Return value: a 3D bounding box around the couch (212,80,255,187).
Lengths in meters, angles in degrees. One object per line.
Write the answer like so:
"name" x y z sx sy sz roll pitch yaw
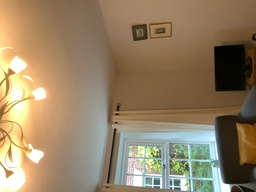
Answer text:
"couch" 1.390 0.400 2.090 0.770 0.820 0.820 75 -164 -58

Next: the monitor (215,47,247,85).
"monitor" 1.390 -0.400 2.860 0.040 0.390 0.510 -4 -86 -81
